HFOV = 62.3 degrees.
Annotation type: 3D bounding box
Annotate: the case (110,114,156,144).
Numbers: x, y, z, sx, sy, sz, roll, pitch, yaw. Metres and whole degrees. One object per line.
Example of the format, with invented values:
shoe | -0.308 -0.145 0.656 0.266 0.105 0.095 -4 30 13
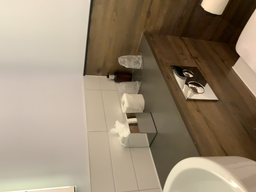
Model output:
case | 0.020 0.160 1.040 0.110 0.190 0.090 -106 24 -42
